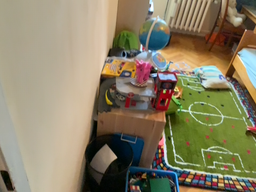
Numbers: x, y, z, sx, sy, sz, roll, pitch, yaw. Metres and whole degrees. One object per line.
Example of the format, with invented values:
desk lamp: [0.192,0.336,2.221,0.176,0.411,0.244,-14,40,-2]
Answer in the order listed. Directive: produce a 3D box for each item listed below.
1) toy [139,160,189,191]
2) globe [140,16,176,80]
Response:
toy: [0.240,0.630,1.470,0.310,0.140,0.280,9,38,-1]
globe: [0.250,-0.410,1.840,0.200,0.450,0.240,9,38,0]
